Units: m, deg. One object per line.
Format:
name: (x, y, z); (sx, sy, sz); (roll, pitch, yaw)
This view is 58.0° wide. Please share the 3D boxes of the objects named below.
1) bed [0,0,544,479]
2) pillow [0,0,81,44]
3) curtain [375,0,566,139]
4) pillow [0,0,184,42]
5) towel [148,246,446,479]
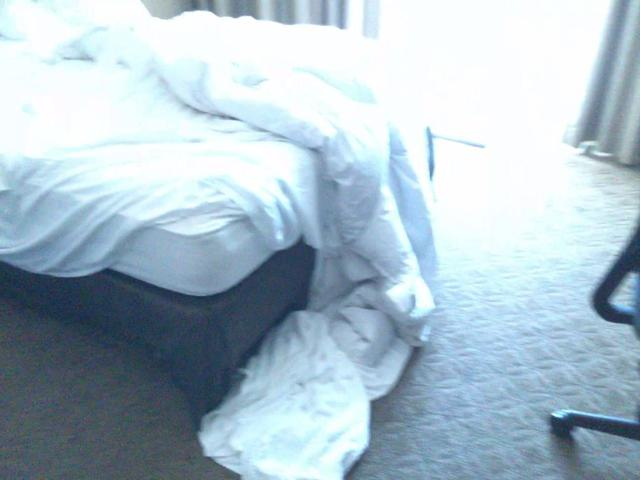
bed: (-0.660, -0.640, 2.100); (2.420, 1.530, 1.730); (16, 33, 25)
pillow: (-1.340, -1.020, 2.580); (0.410, 0.190, 0.280); (16, 33, 25)
curtain: (0.770, -1.400, 2.830); (0.860, 1.650, 0.280); (16, 33, 25)
pillow: (-1.130, -1.240, 2.880); (0.540, 0.330, 0.680); (16, 33, 25)
towel: (-0.020, 0.360, 1.650); (0.500, 0.280, 0.740); (16, 33, 25)
